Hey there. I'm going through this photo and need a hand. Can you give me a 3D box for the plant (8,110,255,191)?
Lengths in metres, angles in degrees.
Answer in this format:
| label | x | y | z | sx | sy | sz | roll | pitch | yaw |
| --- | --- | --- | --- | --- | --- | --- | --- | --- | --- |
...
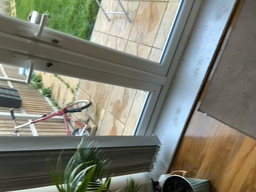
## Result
| label | x | y | z | sx | sy | sz | roll | pitch | yaw |
| --- | --- | --- | --- | --- | --- | --- | --- | --- | --- |
| plant | 0.060 | 0.610 | 1.120 | 0.540 | 1.170 | 0.820 | 40 | 113 | 45 |
